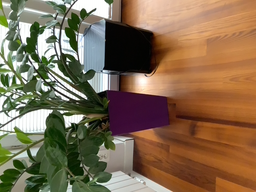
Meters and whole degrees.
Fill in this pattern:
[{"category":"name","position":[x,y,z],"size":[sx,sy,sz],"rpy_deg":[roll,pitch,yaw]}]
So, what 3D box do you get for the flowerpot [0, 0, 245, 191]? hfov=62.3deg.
[{"category":"flowerpot","position":[-0.240,-0.060,1.080],"size":[1.090,1.050,1.020],"rpy_deg":[5,93,53]}]
